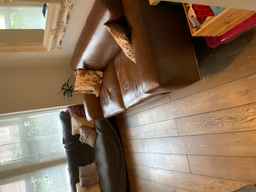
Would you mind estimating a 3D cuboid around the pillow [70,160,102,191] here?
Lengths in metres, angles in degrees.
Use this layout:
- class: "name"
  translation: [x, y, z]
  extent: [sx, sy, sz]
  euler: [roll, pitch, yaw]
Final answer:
- class: "pillow"
  translation: [-0.740, 1.650, 3.800]
  extent: [0.390, 0.400, 0.880]
  euler: [-30, 70, 62]

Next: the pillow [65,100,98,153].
- class: "pillow"
  translation: [-0.880, 0.570, 3.930]
  extent: [0.490, 0.360, 0.800]
  euler: [-53, 50, 55]

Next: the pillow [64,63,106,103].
- class: "pillow"
  translation: [-0.640, -0.180, 3.110]
  extent: [0.560, 0.410, 0.260]
  euler: [-57, 47, 41]
